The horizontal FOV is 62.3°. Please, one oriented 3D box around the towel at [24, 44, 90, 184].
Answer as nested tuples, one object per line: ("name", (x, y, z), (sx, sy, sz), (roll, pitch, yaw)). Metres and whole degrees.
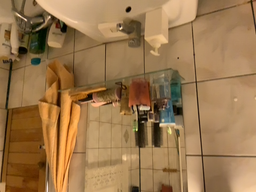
("towel", (-0.330, 0.080, 1.010), (0.250, 0.590, 0.130), (-7, 167, 30))
